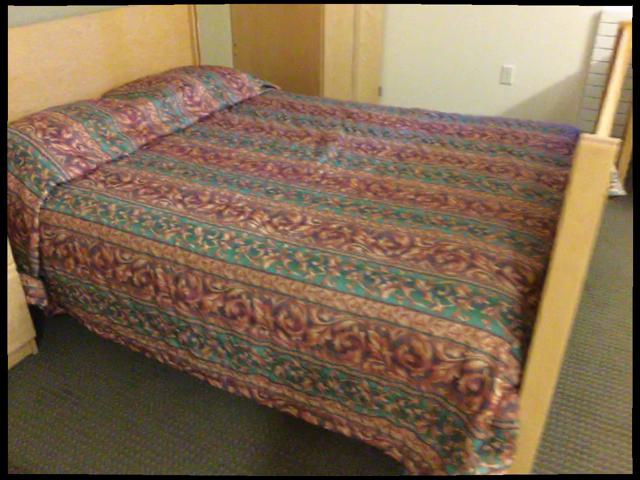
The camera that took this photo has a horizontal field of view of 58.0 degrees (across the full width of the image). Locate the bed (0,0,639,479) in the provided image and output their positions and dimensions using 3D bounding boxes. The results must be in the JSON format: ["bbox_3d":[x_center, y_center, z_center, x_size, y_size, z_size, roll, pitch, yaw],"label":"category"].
[{"bbox_3d":[-0.070,-0.291,2.280,2.357,1.042,1.870,15,33,26],"label":"bed"}]

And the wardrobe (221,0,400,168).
[{"bbox_3d":[-0.020,-1.563,3.660,0.699,1.853,1.050,15,33,26],"label":"wardrobe"}]
